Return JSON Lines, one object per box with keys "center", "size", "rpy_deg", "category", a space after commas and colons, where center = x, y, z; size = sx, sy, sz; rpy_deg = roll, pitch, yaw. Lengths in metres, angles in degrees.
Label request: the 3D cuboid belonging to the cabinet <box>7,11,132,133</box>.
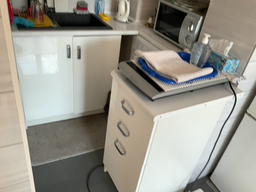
{"center": [-0.510, -0.230, 1.870], "size": [0.840, 0.840, 0.480], "rpy_deg": [-9, 38, -27], "category": "cabinet"}
